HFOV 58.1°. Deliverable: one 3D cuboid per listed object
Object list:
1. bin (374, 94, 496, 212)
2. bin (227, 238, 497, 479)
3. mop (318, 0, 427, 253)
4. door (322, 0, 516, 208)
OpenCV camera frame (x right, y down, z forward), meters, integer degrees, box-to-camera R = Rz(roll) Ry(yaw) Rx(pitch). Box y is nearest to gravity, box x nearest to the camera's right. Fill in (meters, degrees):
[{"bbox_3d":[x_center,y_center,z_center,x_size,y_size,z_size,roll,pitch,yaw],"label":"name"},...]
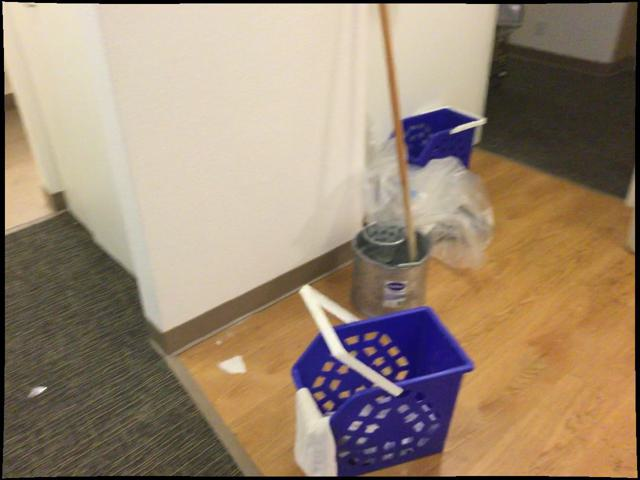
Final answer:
[{"bbox_3d":[0.559,-0.441,2.830,0.509,0.351,0.320,-28,42,-33],"label":"bin"},{"bbox_3d":[0.110,0.371,1.490,0.499,0.481,0.400,-28,42,-33],"label":"bin"},{"bbox_3d":[0.199,-0.551,1.870,0.120,1.622,0.100,-24,56,-31],"label":"mop"},{"bbox_3d":[0.489,-1.233,2.520,1.109,2.014,0.180,-26,40,-31],"label":"door"}]
